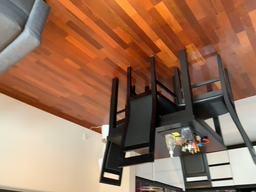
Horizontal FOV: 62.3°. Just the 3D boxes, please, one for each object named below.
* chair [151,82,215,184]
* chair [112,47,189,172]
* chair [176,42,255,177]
[{"bbox_3d":[0.650,0.470,2.610,0.470,1.050,0.560,-19,144,32],"label":"chair"},{"bbox_3d":[0.220,0.150,2.100,0.470,1.030,0.530,-17,145,30],"label":"chair"},{"bbox_3d":[0.860,0.140,2.000,0.550,1.070,0.470,-22,142,35],"label":"chair"}]
